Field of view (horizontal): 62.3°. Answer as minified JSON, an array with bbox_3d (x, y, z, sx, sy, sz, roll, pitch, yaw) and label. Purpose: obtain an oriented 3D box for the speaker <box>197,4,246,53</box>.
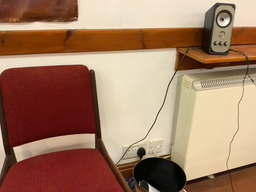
[{"bbox_3d":[0.420,-0.310,0.970,0.120,0.200,0.120,-5,25,-17],"label":"speaker"}]
